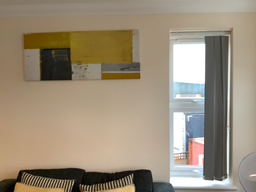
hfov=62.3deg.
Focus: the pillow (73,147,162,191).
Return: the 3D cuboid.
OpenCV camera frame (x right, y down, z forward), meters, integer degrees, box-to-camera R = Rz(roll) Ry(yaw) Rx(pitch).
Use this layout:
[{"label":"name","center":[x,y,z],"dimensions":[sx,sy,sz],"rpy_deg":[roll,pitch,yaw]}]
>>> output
[{"label":"pillow","center":[-0.090,0.880,2.000],"dimensions":[0.680,0.450,0.190],"rpy_deg":[-33,-3,1]}]
